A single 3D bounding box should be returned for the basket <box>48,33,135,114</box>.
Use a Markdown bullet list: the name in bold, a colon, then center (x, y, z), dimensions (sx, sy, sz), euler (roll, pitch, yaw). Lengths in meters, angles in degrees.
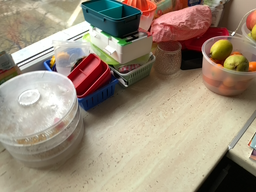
- **basket**: center (-0.110, -0.080, 0.670), dimensions (0.210, 0.110, 0.160), euler (35, 56, 29)
